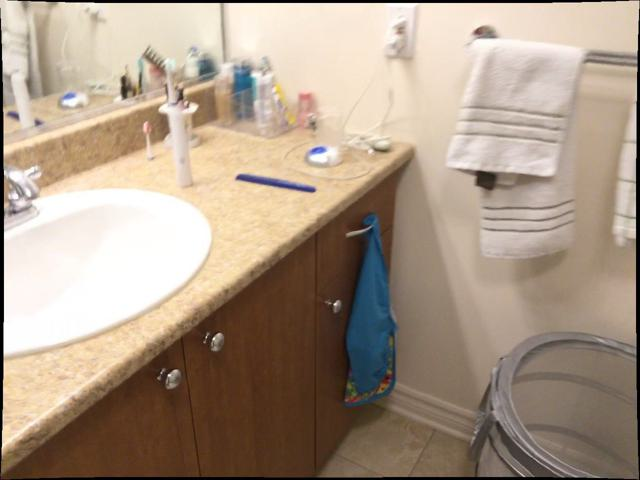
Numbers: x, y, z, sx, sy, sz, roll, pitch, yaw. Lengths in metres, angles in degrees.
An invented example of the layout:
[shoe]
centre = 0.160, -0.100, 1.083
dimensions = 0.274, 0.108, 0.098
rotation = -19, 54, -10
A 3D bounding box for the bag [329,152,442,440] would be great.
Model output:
[bag]
centre = 0.160, 0.150, 1.470
dimensions = 0.120, 0.670, 0.300
rotation = 17, 33, 24

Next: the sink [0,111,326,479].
[sink]
centre = -0.390, 0.010, 1.020
dimensions = 0.480, 0.200, 0.790
rotation = 16, 33, 24
